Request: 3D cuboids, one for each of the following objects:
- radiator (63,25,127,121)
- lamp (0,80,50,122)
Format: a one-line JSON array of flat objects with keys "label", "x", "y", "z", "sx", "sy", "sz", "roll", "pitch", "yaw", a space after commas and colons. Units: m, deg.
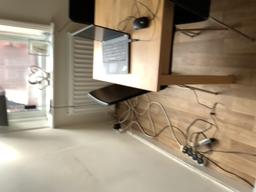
[{"label": "radiator", "x": -0.380, "y": -0.250, "z": 2.520, "sx": 0.120, "sy": 0.730, "sz": 1.030, "roll": 17, "pitch": 106, "yaw": 54}, {"label": "lamp", "x": -1.200, "y": 0.030, "z": 2.240, "sx": 0.400, "sy": 0.630, "sz": 0.340, "roll": 22, "pitch": 110, "yaw": 53}]
